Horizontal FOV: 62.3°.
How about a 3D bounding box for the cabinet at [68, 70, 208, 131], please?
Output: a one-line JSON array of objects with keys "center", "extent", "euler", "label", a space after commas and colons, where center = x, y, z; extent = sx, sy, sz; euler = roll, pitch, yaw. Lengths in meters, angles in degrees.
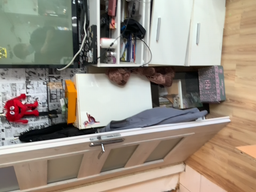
[{"center": [0.120, 0.020, 1.880], "extent": [0.300, 1.190, 0.420], "euler": [161, 104, -65], "label": "cabinet"}]
